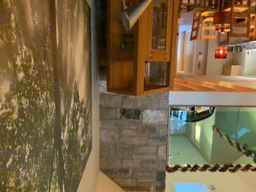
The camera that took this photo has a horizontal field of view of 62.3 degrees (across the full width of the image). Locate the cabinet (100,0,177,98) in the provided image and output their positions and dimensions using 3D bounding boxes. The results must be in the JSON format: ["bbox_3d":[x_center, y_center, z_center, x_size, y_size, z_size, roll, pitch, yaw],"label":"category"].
[{"bbox_3d":[0.140,-0.990,2.440,0.530,1.900,0.760,8,-168,37],"label":"cabinet"}]
